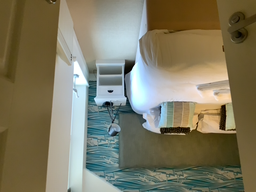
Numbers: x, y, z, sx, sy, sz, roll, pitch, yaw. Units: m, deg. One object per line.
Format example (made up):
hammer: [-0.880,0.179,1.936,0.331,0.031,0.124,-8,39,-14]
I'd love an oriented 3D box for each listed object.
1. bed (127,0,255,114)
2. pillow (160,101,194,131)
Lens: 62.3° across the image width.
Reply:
bed: [1.010,-0.340,2.560,1.960,0.770,1.970,-1,166,-2]
pillow: [0.600,0.240,2.610,0.390,0.330,0.120,-2,-173,-4]
